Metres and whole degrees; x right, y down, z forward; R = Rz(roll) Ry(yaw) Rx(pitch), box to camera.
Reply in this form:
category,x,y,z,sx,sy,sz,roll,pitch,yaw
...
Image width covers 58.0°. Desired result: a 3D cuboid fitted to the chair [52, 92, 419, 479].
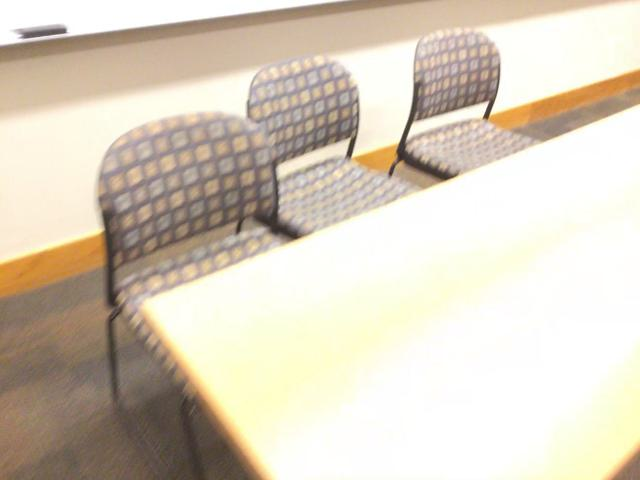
category,x,y,z,sx,sy,sz,roll,pitch,yaw
chair,-0.190,0.130,1.360,0.530,0.730,0.550,-21,38,-31

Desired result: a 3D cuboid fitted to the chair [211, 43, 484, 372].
category,x,y,z,sx,sy,sz,roll,pitch,yaw
chair,0.060,-0.130,1.740,0.520,0.730,0.520,-21,38,-31

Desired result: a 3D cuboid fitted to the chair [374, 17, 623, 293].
category,x,y,z,sx,sy,sz,roll,pitch,yaw
chair,0.580,-0.330,2.060,0.490,0.740,0.550,-21,38,-31
